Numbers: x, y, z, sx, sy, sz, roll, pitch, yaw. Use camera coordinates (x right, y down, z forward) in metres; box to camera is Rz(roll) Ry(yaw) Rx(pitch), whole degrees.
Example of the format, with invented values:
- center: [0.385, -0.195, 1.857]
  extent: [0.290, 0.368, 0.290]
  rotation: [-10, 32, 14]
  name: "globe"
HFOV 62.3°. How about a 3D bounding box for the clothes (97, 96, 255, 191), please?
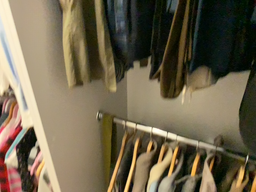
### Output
- center: [0.270, 0.550, 1.060]
  extent: [0.610, 0.850, 0.510]
  rotation: [14, 33, 21]
  name: "clothes"
